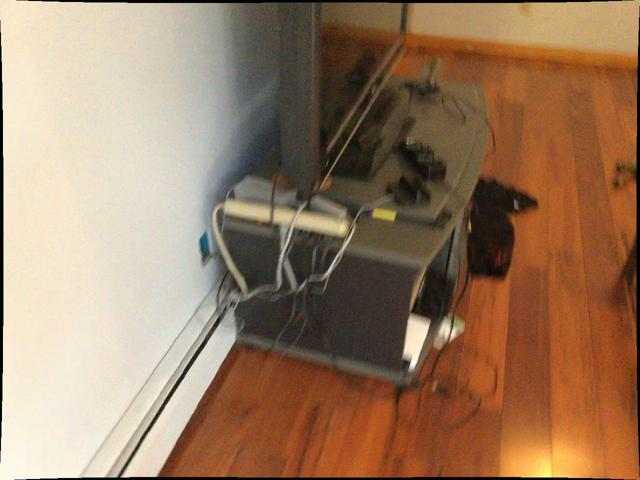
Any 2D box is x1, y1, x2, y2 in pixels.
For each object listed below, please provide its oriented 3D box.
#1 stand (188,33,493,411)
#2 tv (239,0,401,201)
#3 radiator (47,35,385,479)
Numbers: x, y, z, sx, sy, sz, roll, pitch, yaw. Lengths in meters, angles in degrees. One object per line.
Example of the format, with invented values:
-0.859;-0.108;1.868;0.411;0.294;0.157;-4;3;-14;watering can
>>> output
0.170;-0.190;1.950;0.659;0.590;1.270;11;37;11;stand
0.070;-0.711;1.600;0.170;0.710;1.130;11;37;11;tv
-0.100;-0.210;2.250;0.110;0.260;3.231;11;37;11;radiator
